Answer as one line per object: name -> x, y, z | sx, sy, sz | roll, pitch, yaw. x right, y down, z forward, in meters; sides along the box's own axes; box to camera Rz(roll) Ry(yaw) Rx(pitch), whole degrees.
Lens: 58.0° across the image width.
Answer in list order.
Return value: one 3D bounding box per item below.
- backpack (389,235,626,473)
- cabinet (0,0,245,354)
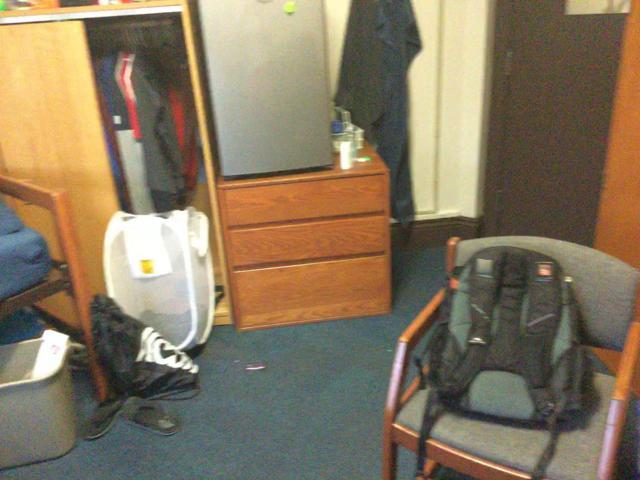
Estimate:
backpack -> 0.470, 0.250, 1.480 | 0.440, 0.330, 0.400 | 15, 29, 35
cabinet -> -0.930, -0.360, 2.670 | 0.980, 1.560, 0.670 | -4, 23, -3
